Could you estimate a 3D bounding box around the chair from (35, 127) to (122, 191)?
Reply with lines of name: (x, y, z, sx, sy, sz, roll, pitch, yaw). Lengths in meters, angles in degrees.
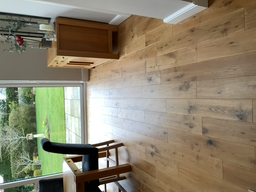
chair: (-0.700, 0.840, 3.050, 0.480, 1.120, 0.640, -2, 90, 63)
